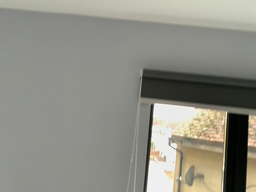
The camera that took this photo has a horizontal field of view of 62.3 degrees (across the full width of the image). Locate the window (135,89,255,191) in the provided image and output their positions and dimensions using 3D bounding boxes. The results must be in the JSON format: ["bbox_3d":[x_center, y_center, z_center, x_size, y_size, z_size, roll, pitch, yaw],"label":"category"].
[{"bbox_3d":[0.660,0.710,1.480,1.210,1.400,0.100,6,-6,0],"label":"window"}]
